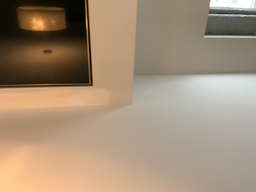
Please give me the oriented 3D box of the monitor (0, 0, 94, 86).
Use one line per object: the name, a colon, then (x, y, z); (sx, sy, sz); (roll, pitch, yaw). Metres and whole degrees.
monitor: (-0.880, -0.410, 1.420); (1.270, 0.740, 0.020); (-2, -152, -9)
